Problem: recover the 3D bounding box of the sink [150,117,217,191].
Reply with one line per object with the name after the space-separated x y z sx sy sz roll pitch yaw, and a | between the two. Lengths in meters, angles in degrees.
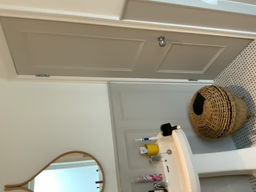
0.370 0.500 1.560 0.450 0.170 0.550 116 150 -56 | sink
